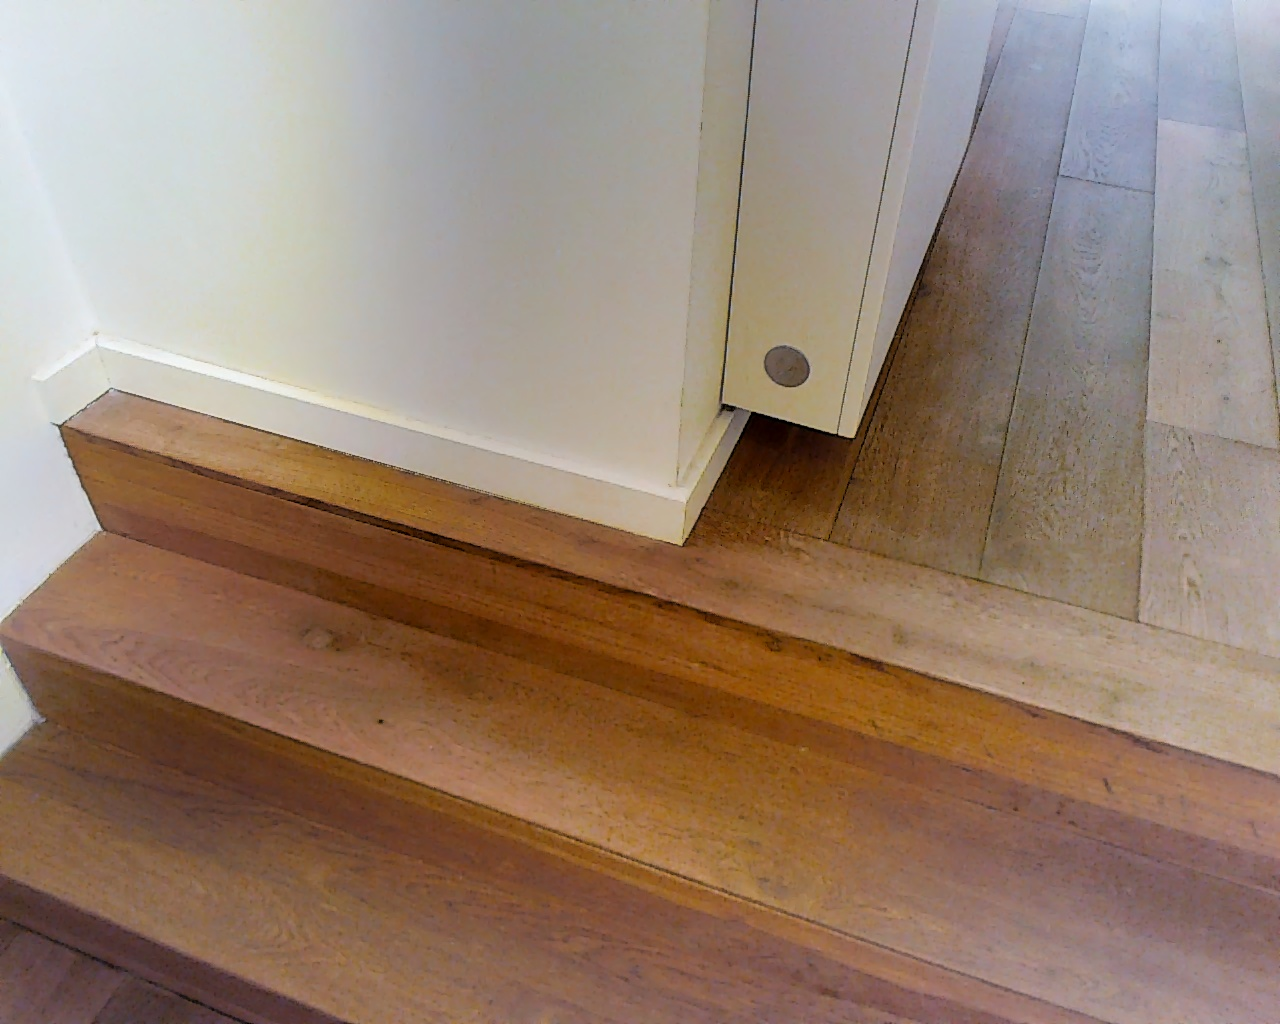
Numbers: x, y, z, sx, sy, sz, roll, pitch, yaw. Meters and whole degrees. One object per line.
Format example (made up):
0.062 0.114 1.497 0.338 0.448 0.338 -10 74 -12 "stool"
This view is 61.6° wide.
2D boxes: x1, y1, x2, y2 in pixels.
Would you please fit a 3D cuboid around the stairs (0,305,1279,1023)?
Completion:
0.300 0.410 1.140 2.420 0.520 0.630 15 44 14 "stairs"
